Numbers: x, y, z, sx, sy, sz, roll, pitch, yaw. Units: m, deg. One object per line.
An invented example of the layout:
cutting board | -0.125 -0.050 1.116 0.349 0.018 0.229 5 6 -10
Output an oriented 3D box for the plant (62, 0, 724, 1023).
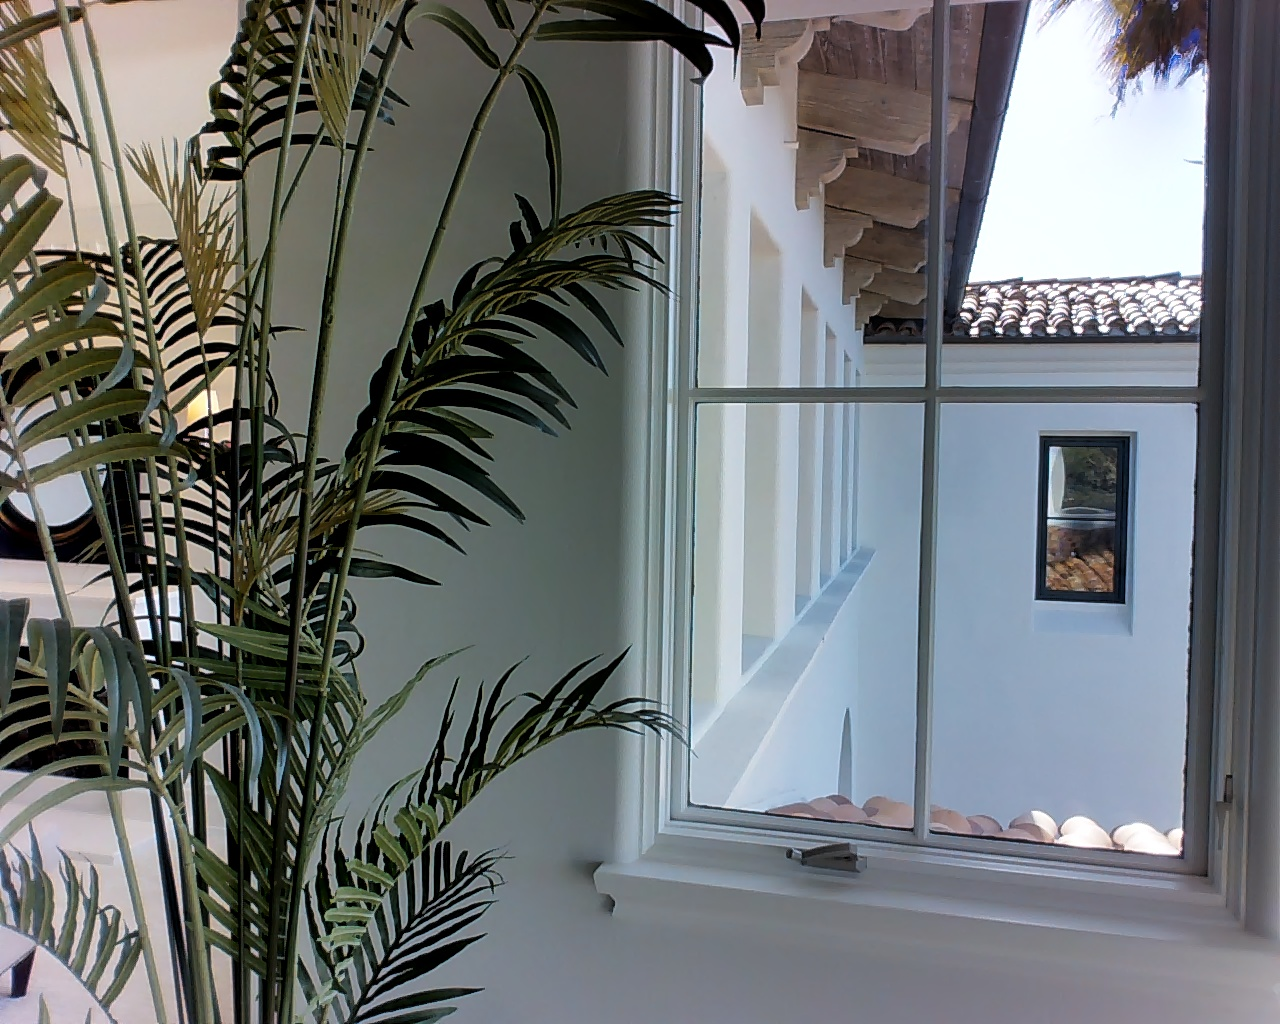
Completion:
plant | -0.440 -0.190 1.320 0.450 2.241 1.260 0 2 -29

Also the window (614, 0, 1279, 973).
window | 0.430 -0.150 1.570 0.910 1.480 0.140 1 2 15
